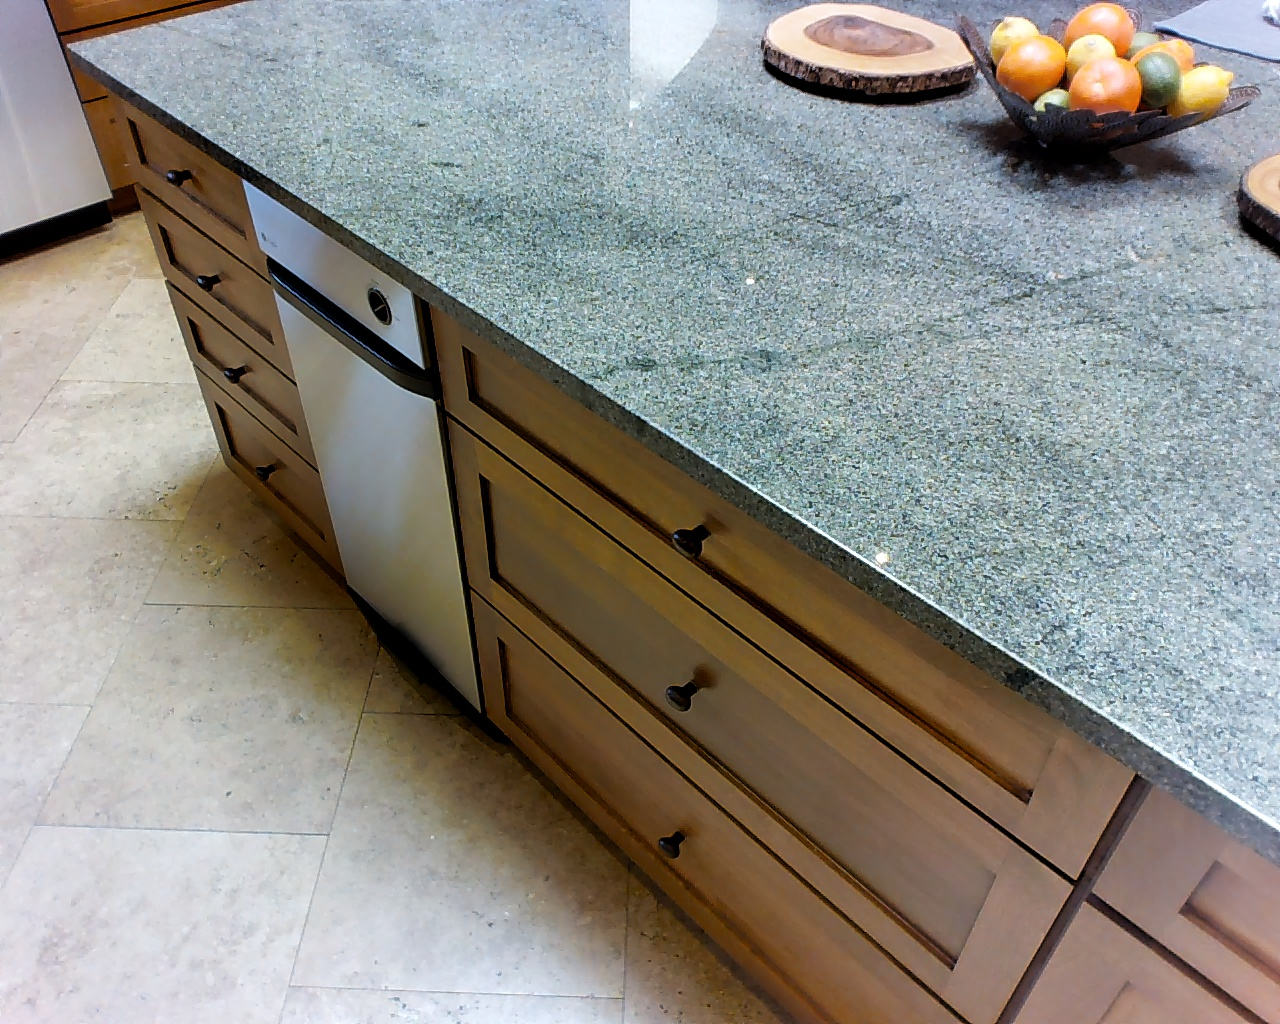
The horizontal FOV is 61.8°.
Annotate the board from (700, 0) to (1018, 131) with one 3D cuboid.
[{"bbox_3d":[0.310,-0.660,1.540,0.280,0.040,0.350,-33,52,-31],"label":"board"}]
